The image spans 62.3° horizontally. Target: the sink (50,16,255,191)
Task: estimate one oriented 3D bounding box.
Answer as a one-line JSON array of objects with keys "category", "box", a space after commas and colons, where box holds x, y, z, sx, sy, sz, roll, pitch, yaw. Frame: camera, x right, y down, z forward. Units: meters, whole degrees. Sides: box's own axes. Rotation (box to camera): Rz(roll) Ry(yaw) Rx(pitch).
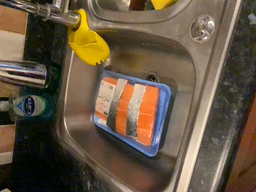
[{"category": "sink", "box": [0.000, 0.020, 0.580, 0.510, 0.160, 0.410, 22, 105, 43]}]
